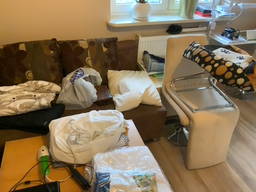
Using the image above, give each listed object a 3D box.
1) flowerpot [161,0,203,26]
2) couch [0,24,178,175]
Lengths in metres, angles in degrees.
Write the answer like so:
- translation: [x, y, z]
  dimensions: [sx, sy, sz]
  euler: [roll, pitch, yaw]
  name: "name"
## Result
- translation: [0.620, -1.100, 2.400]
  dimensions: [0.310, 0.500, 0.300]
  euler: [-12, 37, -21]
  name: "flowerpot"
- translation: [-0.770, -0.030, 1.820]
  dimensions: [2.040, 0.810, 0.910]
  euler: [-8, 36, -16]
  name: "couch"
